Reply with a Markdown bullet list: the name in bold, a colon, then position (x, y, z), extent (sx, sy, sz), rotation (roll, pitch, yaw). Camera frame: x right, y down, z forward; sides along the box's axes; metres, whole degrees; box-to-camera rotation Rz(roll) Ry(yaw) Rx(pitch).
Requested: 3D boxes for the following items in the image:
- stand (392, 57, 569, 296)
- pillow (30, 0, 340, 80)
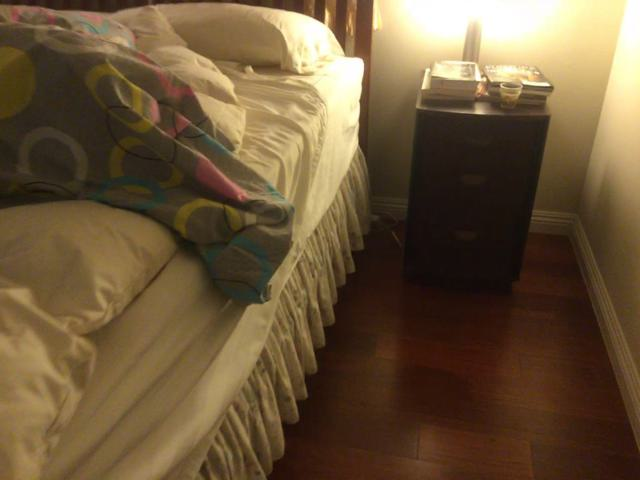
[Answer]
- **stand**: position (0.530, -0.230, 2.070), extent (0.450, 0.730, 0.360), rotation (6, 28, 7)
- **pillow**: position (-0.410, -0.770, 1.990), extent (0.890, 0.250, 0.560), rotation (6, 28, 7)
